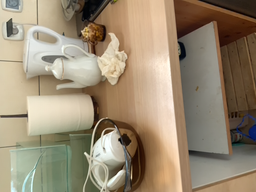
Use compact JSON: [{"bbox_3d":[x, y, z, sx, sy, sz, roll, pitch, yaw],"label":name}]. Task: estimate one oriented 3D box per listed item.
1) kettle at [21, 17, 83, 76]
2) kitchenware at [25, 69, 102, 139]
[{"bbox_3d":[-0.310,-0.190,0.860,0.130,0.210,0.170,-27,67,57],"label":"kettle"},{"bbox_3d":[-0.260,0.040,0.830,0.190,0.240,0.230,-20,73,58],"label":"kitchenware"}]
